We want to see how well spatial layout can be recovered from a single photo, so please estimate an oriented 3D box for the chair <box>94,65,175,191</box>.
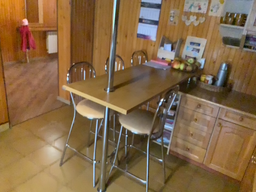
[{"bbox_3d":[0.020,0.370,1.860,0.450,1.150,0.360,21,26,28],"label":"chair"}]
